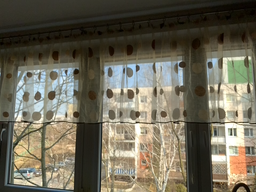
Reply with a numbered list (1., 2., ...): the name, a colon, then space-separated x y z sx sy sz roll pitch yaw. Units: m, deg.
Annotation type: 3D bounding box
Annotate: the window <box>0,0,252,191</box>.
1. window: -0.500 0.110 1.950 2.820 1.710 0.240 -1 -8 14
